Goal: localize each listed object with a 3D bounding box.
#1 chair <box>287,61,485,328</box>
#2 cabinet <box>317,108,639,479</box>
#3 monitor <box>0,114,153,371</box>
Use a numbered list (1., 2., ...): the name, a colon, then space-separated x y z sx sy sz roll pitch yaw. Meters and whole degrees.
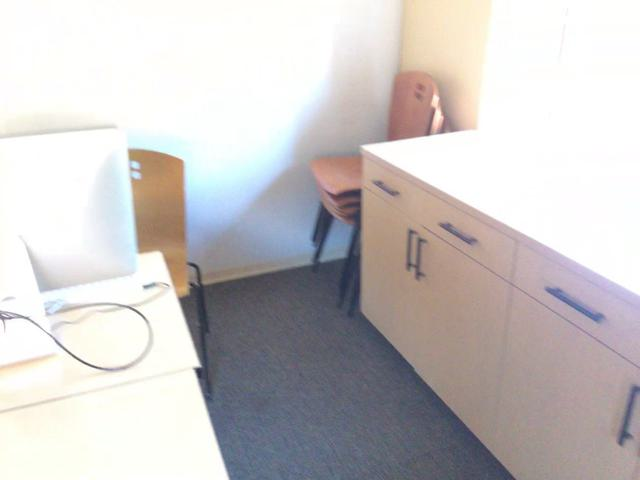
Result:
1. chair: 0.240 -0.250 2.650 0.550 1.010 0.660 -8 26 -24
2. cabinet: 0.700 0.260 1.750 0.620 0.900 1.980 -8 26 -24
3. monitor: -0.620 0.010 1.110 0.520 0.440 0.190 -8 26 -24
